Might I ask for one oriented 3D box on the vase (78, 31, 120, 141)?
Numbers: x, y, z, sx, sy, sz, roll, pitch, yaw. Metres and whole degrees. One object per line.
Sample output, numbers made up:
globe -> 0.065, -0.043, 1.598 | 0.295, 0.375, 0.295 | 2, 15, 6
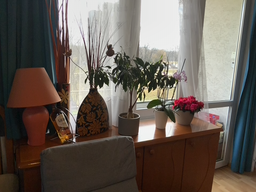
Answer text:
vase -> -0.230, -0.070, 1.600 | 0.270, 0.780, 0.140 | -2, 12, -23
